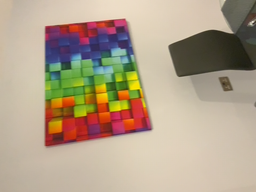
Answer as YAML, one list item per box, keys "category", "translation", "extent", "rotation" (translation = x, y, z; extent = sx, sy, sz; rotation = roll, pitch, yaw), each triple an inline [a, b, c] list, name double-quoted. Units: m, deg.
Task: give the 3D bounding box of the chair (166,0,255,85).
- category: "chair"
  translation: [0.870, -0.460, 1.550]
  extent: [0.570, 0.990, 0.460]
  rotation: [98, 165, -63]

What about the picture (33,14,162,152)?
- category: "picture"
  translation: [-0.290, -0.220, 1.850]
  extent: [0.060, 0.920, 1.290]
  rotation: [97, 166, -61]
